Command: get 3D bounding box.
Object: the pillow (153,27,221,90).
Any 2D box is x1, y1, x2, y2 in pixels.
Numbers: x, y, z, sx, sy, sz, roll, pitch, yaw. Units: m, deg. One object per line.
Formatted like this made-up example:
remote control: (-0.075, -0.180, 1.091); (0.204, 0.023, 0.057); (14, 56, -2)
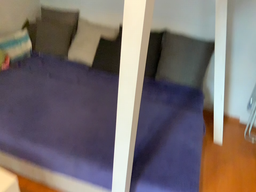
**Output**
pillow: (0.560, -0.360, 2.110); (0.510, 0.490, 0.190); (17, 51, 7)
